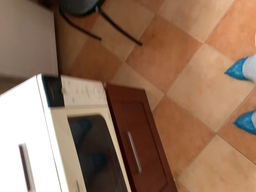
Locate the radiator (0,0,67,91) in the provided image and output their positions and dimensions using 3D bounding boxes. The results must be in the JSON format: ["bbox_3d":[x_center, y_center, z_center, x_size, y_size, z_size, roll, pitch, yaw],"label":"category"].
[{"bbox_3d":[-0.650,-0.330,1.250,0.140,0.600,0.550,-10,83,25],"label":"radiator"}]

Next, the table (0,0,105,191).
[{"bbox_3d":[-0.580,0.110,1.100,0.410,0.880,1.850,-8,85,25],"label":"table"}]
